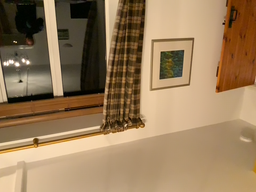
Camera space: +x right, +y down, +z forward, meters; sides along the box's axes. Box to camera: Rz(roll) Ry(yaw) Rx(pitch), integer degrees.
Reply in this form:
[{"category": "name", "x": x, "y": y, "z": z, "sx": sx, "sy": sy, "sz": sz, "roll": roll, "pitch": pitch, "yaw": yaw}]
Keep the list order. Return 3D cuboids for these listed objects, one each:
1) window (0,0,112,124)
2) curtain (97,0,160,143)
[{"category": "window", "x": -1.020, "y": -0.370, "z": 2.080, "sx": 1.750, "sy": 1.270, "sz": 0.110, "roll": -7, "pitch": -160, "yaw": -22}, {"category": "curtain", "x": 0.000, "y": -0.540, "z": 1.940, "sx": 0.510, "sy": 2.000, "sz": 0.190, "roll": -7, "pitch": -160, "yaw": -20}]
